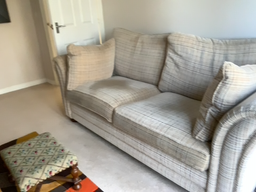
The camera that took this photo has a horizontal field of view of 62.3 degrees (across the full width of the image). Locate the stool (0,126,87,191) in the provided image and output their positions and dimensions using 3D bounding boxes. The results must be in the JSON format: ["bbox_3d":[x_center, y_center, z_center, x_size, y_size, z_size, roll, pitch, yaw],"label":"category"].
[{"bbox_3d":[-0.580,0.480,1.450,0.370,0.300,0.450,-22,28,-37],"label":"stool"}]

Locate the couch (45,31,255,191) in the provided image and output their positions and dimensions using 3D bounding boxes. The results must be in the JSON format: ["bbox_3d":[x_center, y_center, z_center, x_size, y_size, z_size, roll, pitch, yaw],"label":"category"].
[{"bbox_3d":[0.220,-0.050,1.870,0.970,0.860,2.000,-21,28,-37],"label":"couch"}]
